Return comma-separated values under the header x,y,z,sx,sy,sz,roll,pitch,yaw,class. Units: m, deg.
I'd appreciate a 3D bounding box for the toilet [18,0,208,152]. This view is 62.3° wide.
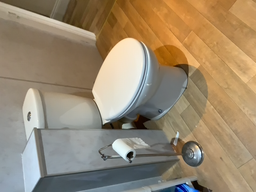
x,y,z,sx,sy,sz,roll,pitch,yaw,class
-0.100,-0.050,1.220,0.660,0.800,0.380,-53,48,31,toilet

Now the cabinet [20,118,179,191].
x,y,z,sx,sy,sz,roll,pitch,yaw,class
-0.110,0.310,1.160,0.230,0.810,0.260,-53,48,31,cabinet
